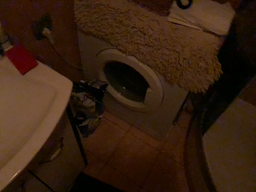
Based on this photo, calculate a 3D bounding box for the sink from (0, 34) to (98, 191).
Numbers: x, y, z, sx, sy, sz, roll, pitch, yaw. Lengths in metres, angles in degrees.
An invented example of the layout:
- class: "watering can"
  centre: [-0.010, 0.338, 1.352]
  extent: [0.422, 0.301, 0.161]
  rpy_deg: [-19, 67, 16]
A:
- class: "sink"
  centre: [-0.390, 0.100, 0.580]
  extent: [0.380, 0.150, 0.500]
  rpy_deg: [29, 59, 14]
